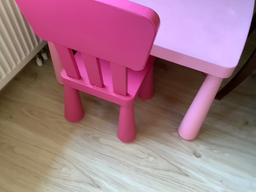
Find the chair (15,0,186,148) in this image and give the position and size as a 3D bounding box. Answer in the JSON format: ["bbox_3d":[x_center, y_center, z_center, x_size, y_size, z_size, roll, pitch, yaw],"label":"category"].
[{"bbox_3d":[-0.060,-0.170,0.830,0.390,0.680,0.370,22,56,12],"label":"chair"}]

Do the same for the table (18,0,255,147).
[{"bbox_3d":[0.080,-0.270,1.020,0.820,0.500,0.570,23,56,13],"label":"table"}]
